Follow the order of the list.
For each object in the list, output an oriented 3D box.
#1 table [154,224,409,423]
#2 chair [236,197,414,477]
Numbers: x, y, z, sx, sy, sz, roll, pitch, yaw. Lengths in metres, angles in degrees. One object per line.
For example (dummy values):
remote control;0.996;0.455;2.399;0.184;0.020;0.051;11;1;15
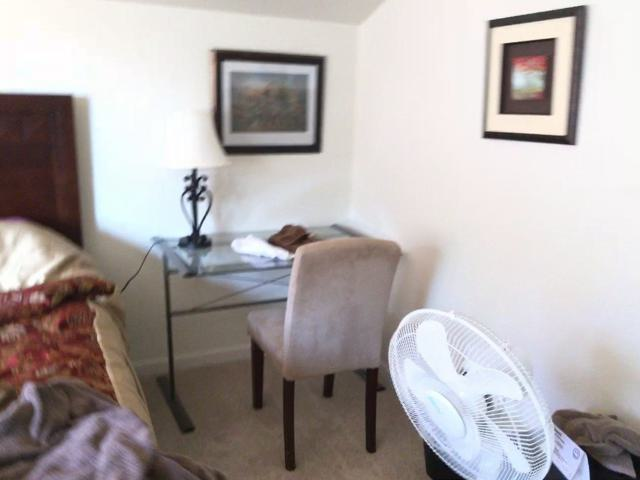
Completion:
table;-0.200;0.340;2.810;1.070;0.650;0.550;-5;18;-26
chair;-0.030;0.350;2.460;0.470;0.920;0.680;-4;18;-24
